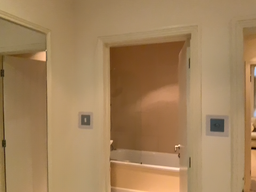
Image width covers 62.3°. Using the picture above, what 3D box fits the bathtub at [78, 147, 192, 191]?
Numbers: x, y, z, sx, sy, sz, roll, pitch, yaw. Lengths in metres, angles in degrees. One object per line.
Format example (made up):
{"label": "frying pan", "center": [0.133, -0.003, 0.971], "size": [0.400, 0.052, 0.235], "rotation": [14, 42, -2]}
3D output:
{"label": "bathtub", "center": [0.140, 1.230, 3.350], "size": [1.670, 0.550, 0.730], "rotation": [0, 0, 17]}
